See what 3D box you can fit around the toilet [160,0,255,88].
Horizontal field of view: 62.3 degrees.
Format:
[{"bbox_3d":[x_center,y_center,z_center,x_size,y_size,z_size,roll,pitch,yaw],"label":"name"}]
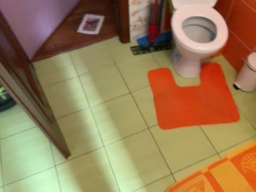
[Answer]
[{"bbox_3d":[0.490,-0.580,1.570,0.390,0.810,0.700,0,57,2],"label":"toilet"}]
